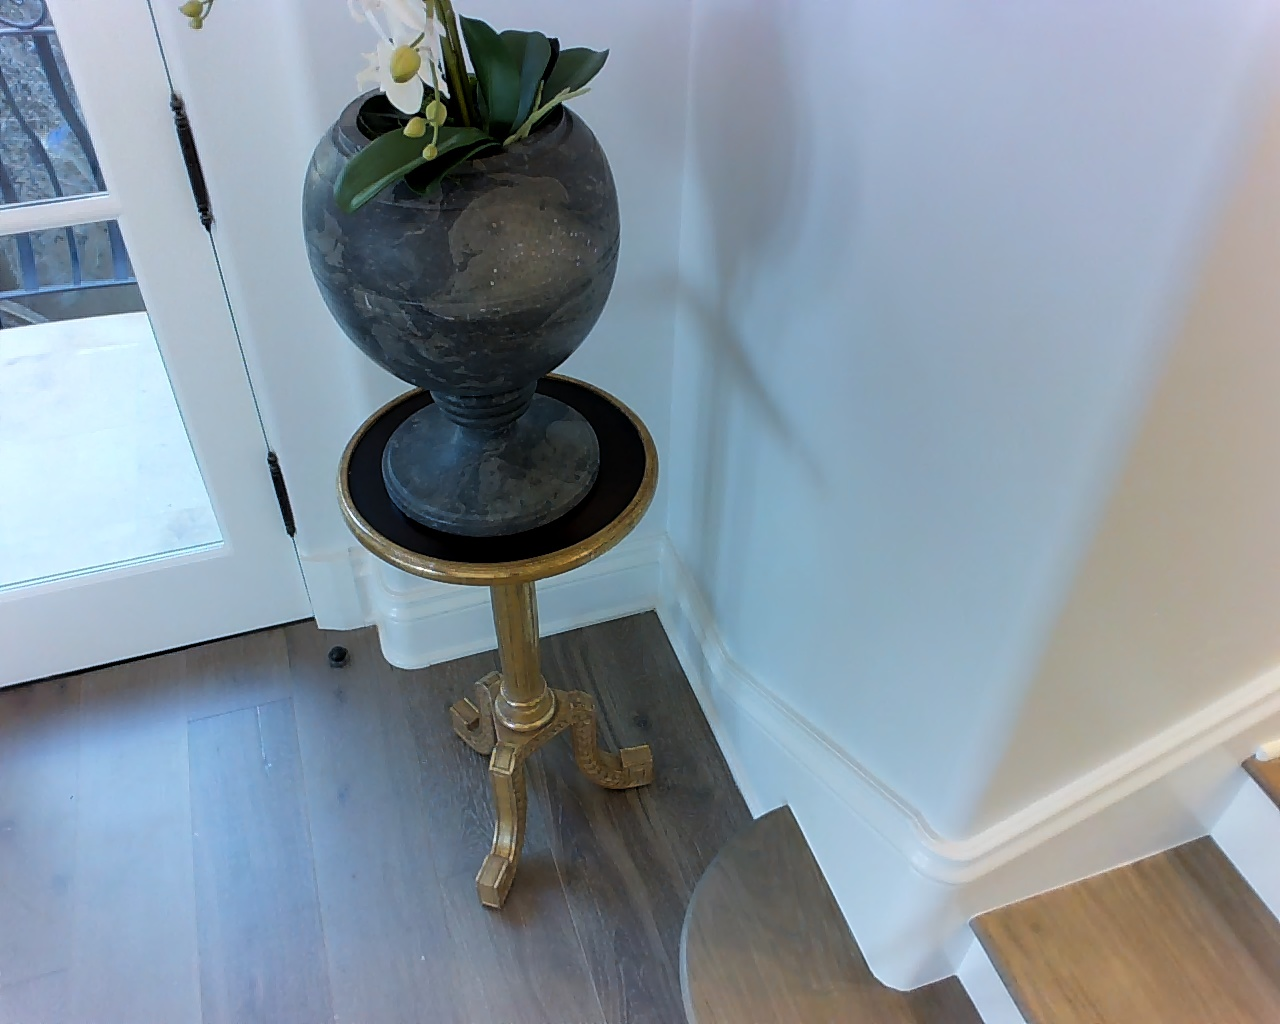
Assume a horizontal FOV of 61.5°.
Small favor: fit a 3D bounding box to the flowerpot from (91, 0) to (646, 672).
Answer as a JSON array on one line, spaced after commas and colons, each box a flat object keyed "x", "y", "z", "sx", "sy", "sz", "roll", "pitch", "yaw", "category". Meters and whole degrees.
[{"x": -0.180, "y": -0.320, "z": 1.000, "sx": 0.340, "sy": 0.890, "sz": 0.440, "roll": 3, "pitch": 42, "yaw": 2, "category": "flowerpot"}]

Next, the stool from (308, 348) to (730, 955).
[{"x": -0.180, "y": 0.230, "z": 1.640, "sx": 0.450, "sy": 0.790, "sz": 0.410, "roll": -12, "pitch": 44, "yaw": -15, "category": "stool"}]
